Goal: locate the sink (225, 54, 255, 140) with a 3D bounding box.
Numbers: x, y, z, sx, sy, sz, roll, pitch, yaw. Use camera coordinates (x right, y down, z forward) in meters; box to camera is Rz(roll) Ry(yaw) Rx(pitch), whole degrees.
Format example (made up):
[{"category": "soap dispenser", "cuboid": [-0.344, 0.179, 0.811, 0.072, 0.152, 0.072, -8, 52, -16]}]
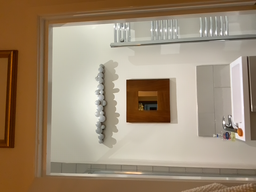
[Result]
[{"category": "sink", "cuboid": [0.880, 0.010, 1.690, 0.240, 0.110, 0.640, 27, -118, -82]}]
